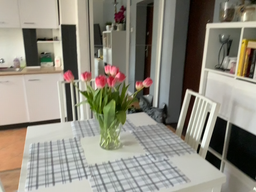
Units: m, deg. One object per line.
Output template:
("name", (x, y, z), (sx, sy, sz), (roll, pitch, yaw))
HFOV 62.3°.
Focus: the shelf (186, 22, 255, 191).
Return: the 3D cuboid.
("shelf", (0.960, 0.180, 1.720), (0.440, 1.450, 0.780), (-4, 17, -20))
